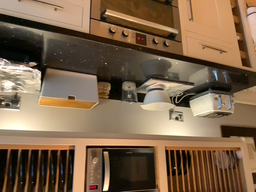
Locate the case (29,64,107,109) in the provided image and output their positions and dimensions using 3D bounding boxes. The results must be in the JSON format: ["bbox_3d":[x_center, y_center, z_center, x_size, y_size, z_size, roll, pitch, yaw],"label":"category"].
[{"bbox_3d":[-0.400,-0.050,1.440,0.470,0.190,0.210,7,161,-27],"label":"case"}]
